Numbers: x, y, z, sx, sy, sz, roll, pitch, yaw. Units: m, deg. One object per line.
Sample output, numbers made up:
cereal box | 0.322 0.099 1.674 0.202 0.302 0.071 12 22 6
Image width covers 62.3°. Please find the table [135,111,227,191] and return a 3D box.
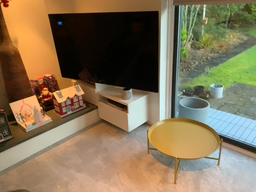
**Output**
table | 0.560 0.510 2.240 0.690 0.280 0.700 16 30 36
